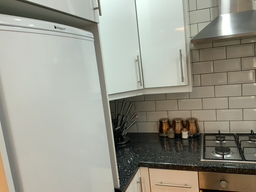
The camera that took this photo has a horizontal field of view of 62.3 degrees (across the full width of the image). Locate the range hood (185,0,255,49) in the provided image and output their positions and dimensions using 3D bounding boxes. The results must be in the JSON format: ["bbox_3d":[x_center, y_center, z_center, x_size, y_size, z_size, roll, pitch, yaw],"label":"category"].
[{"bbox_3d":[0.660,-0.720,1.420,0.530,0.720,0.400,-3,9,19],"label":"range hood"}]
